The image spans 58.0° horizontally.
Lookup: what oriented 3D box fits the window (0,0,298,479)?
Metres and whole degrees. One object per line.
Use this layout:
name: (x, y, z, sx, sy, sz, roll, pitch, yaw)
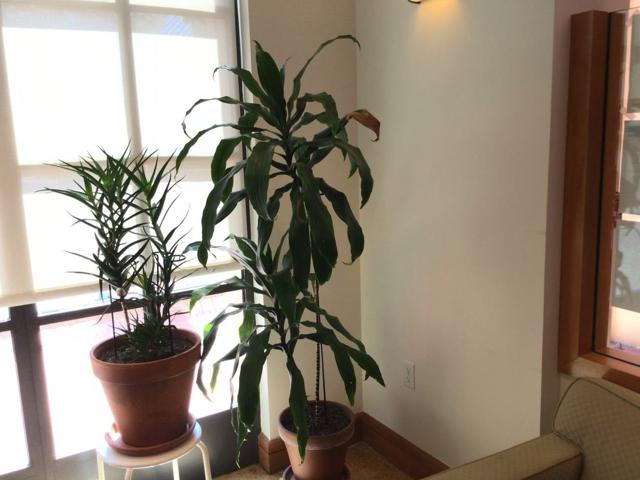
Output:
window: (-1.000, 0.120, 2.050, 1.850, 2.010, 0.250, -7, 9, -30)
